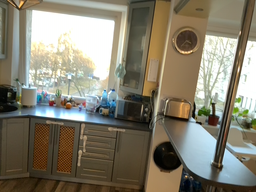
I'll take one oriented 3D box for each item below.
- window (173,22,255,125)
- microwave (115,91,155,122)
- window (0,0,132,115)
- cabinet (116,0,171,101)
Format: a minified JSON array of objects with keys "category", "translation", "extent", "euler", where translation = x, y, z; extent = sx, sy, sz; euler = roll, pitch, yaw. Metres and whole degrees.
[{"category":"window","translation":[1.420,-0.310,3.210],"extent":[1.250,1.370,0.150],"euler":[7,9,-2]},{"category":"microwave","translation":[0.090,0.130,2.890],"extent":[0.470,0.300,0.370],"euler":[8,9,0]},{"category":"window","translation":[-0.900,-0.620,3.030],"extent":[1.730,1.570,0.180],"euler":[8,9,0]},{"category":"cabinet","translation":[0.170,-0.600,2.700],"extent":[0.480,1.200,0.460],"euler":[7,9,-1]}]
